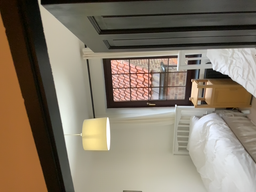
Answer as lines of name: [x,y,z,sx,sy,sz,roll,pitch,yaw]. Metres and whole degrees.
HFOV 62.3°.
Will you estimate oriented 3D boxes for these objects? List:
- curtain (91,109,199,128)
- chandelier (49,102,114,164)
curtain: [0.290,0.410,3.770,0.090,1.860,0.320,-87,176,-66]
chandelier: [-0.470,0.400,2.350,0.490,0.560,0.460,-88,177,-56]
